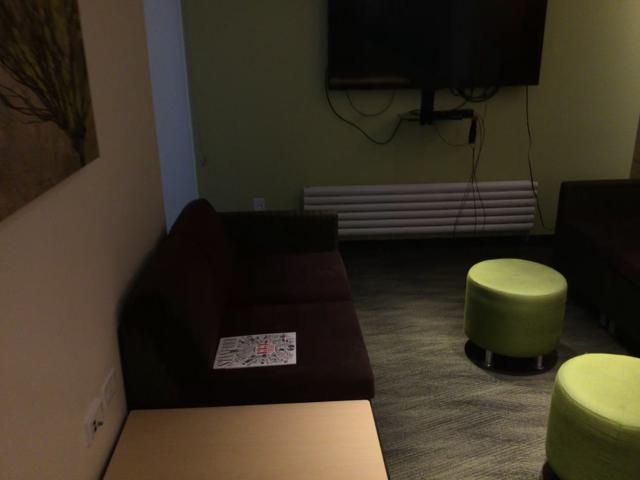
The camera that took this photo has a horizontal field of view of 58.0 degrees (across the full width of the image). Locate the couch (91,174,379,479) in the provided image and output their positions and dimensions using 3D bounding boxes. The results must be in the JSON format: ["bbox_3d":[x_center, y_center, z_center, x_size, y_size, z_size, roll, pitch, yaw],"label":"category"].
[{"bbox_3d":[-0.240,0.290,2.370,0.790,0.790,1.290,-4,20,0],"label":"couch"}]

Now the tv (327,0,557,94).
[{"bbox_3d":[0.690,-1.280,3.350,1.270,0.740,0.220,-4,17,0],"label":"tv"}]
